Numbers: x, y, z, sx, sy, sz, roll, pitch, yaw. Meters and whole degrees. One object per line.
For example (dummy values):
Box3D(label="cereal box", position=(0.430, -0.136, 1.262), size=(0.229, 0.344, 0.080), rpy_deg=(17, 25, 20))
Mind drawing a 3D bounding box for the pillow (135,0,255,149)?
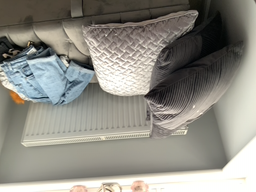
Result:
Box3D(label="pillow", position=(0.260, -0.200, 1.110), size=(0.400, 0.790, 0.490), rpy_deg=(-4, 148, 3))

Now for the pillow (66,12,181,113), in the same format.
Box3D(label="pillow", position=(0.010, -0.120, 1.090), size=(0.450, 0.130, 0.560), rpy_deg=(-6, 148, 5))
